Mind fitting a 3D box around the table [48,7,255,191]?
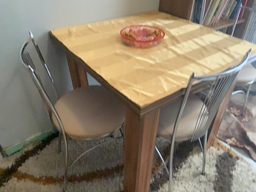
[{"bbox_3d":[0.120,-0.010,1.330,0.810,0.760,0.790,-24,44,-29],"label":"table"}]
